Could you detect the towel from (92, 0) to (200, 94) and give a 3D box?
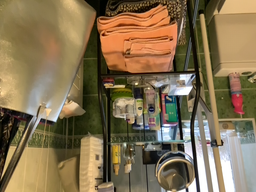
[{"bbox_3d":[0.060,-0.250,1.090,0.380,0.320,0.630,-1,165,0],"label":"towel"}]
